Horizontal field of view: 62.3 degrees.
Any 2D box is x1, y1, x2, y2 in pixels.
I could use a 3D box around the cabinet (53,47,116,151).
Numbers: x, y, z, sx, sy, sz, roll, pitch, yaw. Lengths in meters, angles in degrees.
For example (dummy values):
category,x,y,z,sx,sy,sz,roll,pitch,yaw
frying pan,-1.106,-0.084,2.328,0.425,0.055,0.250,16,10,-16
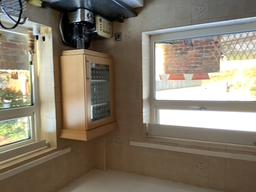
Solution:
category,x,y,z,sx,sy,sz,roll,pitch,yaw
cabinet,-0.430,0.010,2.270,0.330,0.950,0.600,0,-176,26
